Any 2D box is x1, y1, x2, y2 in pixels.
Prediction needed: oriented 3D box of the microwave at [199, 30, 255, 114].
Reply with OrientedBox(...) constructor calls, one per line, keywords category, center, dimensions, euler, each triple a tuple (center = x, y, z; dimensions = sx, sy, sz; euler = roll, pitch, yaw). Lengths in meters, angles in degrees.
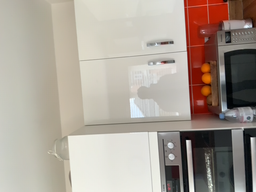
OrientedBox(category="microwave", center=(0.680, -0.150, 1.380), dimensions=(0.280, 0.340, 0.470), euler=(-35, -59, -82))
